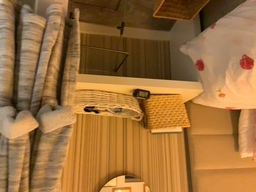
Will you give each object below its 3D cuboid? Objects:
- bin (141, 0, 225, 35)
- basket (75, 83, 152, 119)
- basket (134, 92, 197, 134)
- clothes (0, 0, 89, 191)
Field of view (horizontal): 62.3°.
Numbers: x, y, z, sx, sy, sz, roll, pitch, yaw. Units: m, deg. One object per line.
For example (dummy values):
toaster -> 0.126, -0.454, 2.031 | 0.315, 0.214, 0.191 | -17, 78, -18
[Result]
bin -> 0.290, -0.580, 1.200 | 0.310, 0.260, 0.380 | 4, 165, -17
basket -> -0.110, 0.050, 1.370 | 0.430, 0.140, 0.330 | 4, 165, -17
basket -> 0.230, 0.130, 1.420 | 0.280, 0.210, 0.360 | 3, 165, -15
clothes -> -0.310, 0.170, 0.620 | 0.200, 1.290, 0.290 | -11, 162, 35
